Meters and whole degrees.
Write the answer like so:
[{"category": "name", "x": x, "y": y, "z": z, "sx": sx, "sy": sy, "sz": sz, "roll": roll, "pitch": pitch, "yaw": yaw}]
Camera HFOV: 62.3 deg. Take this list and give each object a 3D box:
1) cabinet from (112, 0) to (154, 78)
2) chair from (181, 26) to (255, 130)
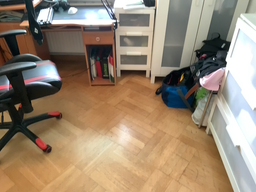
[{"category": "cabinet", "x": 0.040, "y": -0.670, "z": 2.460, "sx": 0.410, "sy": 0.820, "sz": 0.430, "roll": 0, "pitch": 37, "yaw": -1}, {"category": "chair", "x": 0.800, "y": -0.120, "z": 1.760, "sx": 0.540, "sy": 0.810, "sz": 0.310, "roll": 2, "pitch": 37, "yaw": 1}]
